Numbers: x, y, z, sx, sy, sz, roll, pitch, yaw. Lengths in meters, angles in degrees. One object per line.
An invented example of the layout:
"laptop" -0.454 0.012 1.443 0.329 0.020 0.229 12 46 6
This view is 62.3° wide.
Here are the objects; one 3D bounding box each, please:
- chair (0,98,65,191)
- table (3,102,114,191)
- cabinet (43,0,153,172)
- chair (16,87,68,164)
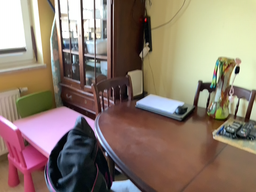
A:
"chair" -0.810 0.430 1.770 0.390 0.680 0.340 16 24 34
"table" -0.620 0.460 1.950 0.770 0.500 0.590 17 25 35
"cabinet" -0.330 -0.280 2.150 0.980 1.770 0.430 17 25 35
"chair" -0.860 0.290 2.170 0.210 0.660 0.380 17 25 35
